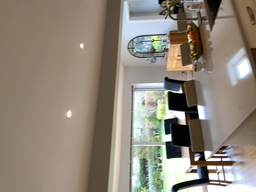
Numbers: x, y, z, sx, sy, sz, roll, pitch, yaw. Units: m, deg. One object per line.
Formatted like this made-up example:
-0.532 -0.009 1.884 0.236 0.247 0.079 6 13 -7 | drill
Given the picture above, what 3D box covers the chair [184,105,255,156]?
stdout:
1.220 0.420 2.510 0.450 0.980 0.460 82 -171 -60 | chair
